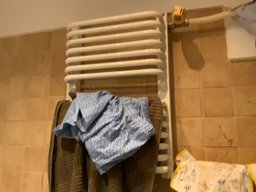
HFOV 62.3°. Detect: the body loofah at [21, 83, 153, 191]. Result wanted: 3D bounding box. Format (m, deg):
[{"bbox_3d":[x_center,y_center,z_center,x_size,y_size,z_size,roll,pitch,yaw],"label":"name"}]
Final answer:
[{"bbox_3d":[-0.120,0.300,0.680,0.380,0.640,0.170,-3,-10,15],"label":"body loofah"}]
